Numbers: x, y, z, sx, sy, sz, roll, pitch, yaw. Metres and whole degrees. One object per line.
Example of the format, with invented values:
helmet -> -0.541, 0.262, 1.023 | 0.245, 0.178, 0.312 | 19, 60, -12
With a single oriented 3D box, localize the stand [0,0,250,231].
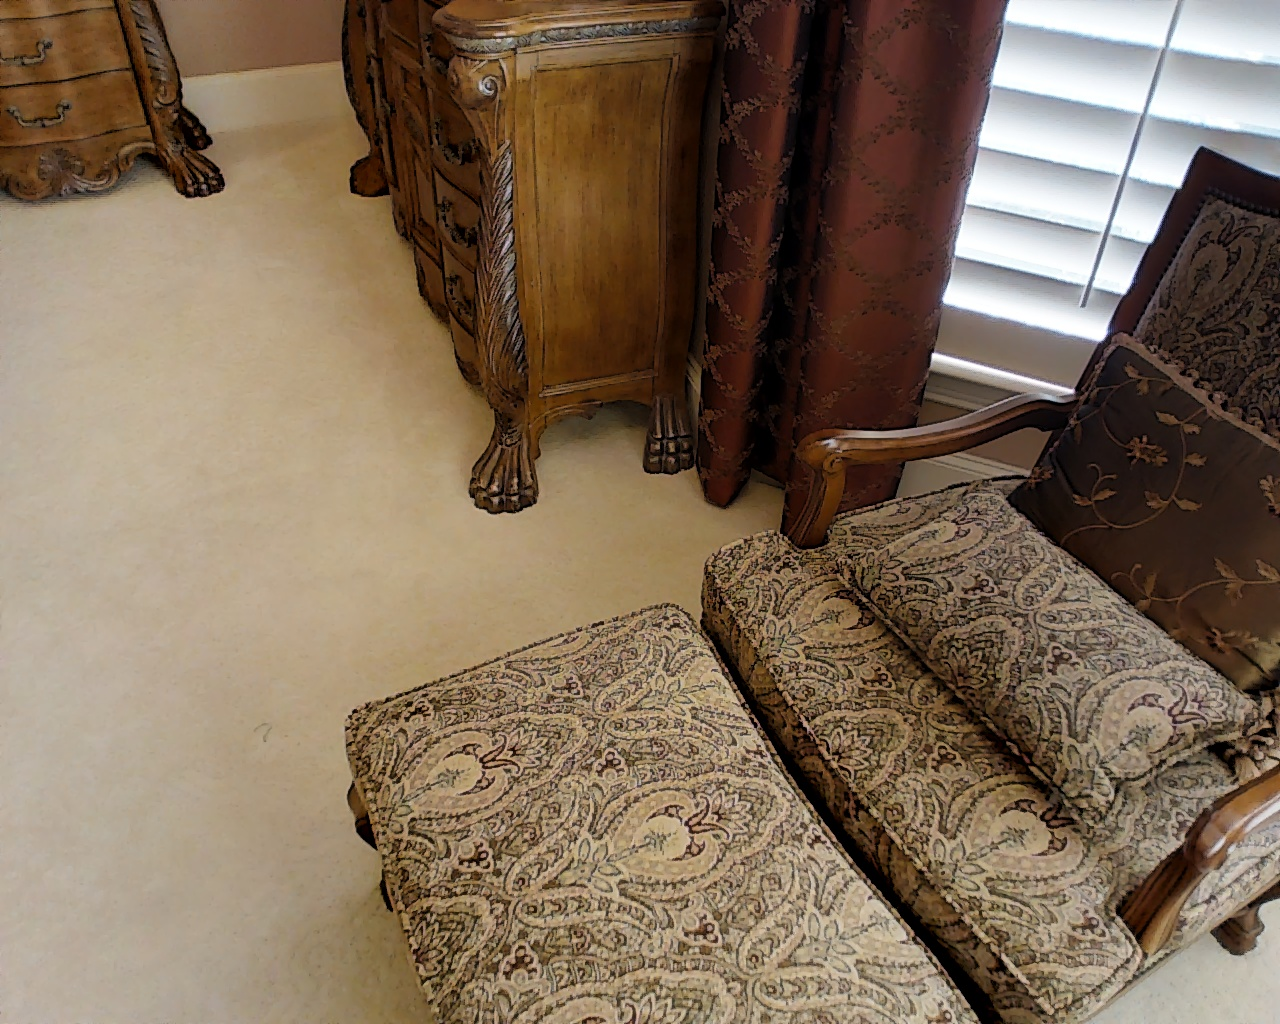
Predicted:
stand -> -1.870, -1.460, 3.360 | 1.010, 0.880, 0.610 | -12, 43, -15

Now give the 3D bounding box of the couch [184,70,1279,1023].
couch -> 0.360, 0.230, 1.330 | 1.390, 1.080, 0.840 | -17, 44, -20

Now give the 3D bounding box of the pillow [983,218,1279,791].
pillow -> 0.700, 0.010, 1.350 | 0.150, 0.310, 0.650 | -20, 87, -16

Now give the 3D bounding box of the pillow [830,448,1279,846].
pillow -> 0.500, 0.140, 1.350 | 0.270, 0.130, 0.480 | -19, 45, -22
